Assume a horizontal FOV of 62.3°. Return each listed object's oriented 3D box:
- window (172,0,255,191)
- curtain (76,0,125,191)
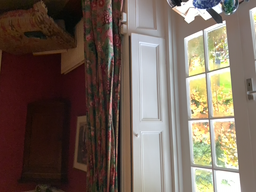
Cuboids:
[{"bbox_3d":[0.810,-0.120,1.580,0.090,2.140,1.120,6,169,-34],"label":"window"},{"bbox_3d":[-0.240,0.130,1.860,0.260,2.520,0.340,7,168,-40],"label":"curtain"}]
